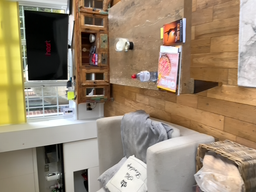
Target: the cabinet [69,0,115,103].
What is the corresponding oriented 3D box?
[{"bbox_3d":[-0.640,-0.830,3.720,0.470,0.660,1.800,22,113,61],"label":"cabinet"}]
